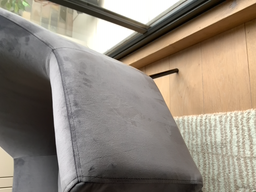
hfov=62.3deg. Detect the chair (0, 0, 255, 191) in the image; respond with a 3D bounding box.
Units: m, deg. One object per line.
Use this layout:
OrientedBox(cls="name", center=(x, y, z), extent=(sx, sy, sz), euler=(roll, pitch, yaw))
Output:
OrientedBox(cls="chair", center=(-0.160, 0.180, 0.700), extent=(0.710, 0.800, 0.750), euler=(-51, 45, 38))
